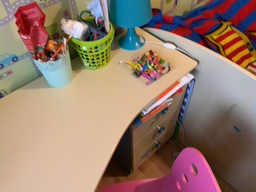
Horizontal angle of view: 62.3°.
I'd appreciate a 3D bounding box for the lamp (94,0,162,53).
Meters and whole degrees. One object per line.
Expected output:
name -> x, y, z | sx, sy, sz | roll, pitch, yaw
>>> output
lamp -> 0.000, -0.380, 0.920 | 0.210, 0.260, 0.190 | -35, 59, -24
